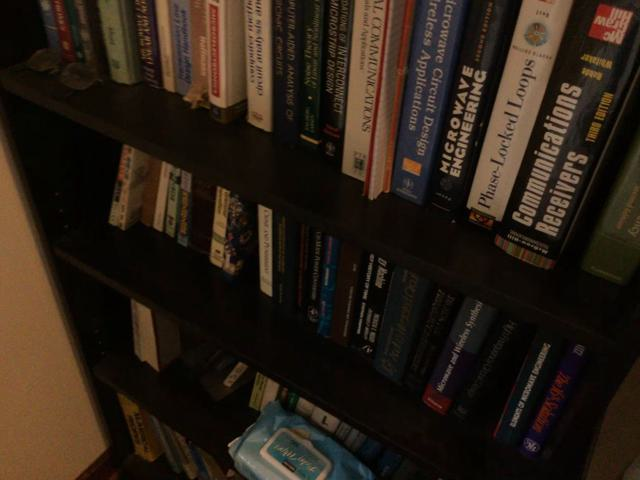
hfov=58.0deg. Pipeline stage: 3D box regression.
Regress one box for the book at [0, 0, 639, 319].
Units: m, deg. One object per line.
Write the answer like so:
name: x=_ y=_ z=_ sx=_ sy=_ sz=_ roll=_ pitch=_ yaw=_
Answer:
book: x=0.000 y=-0.230 z=0.580 sx=0.750 sy=0.270 sz=0.220 roll=22 pitch=42 yaw=21
